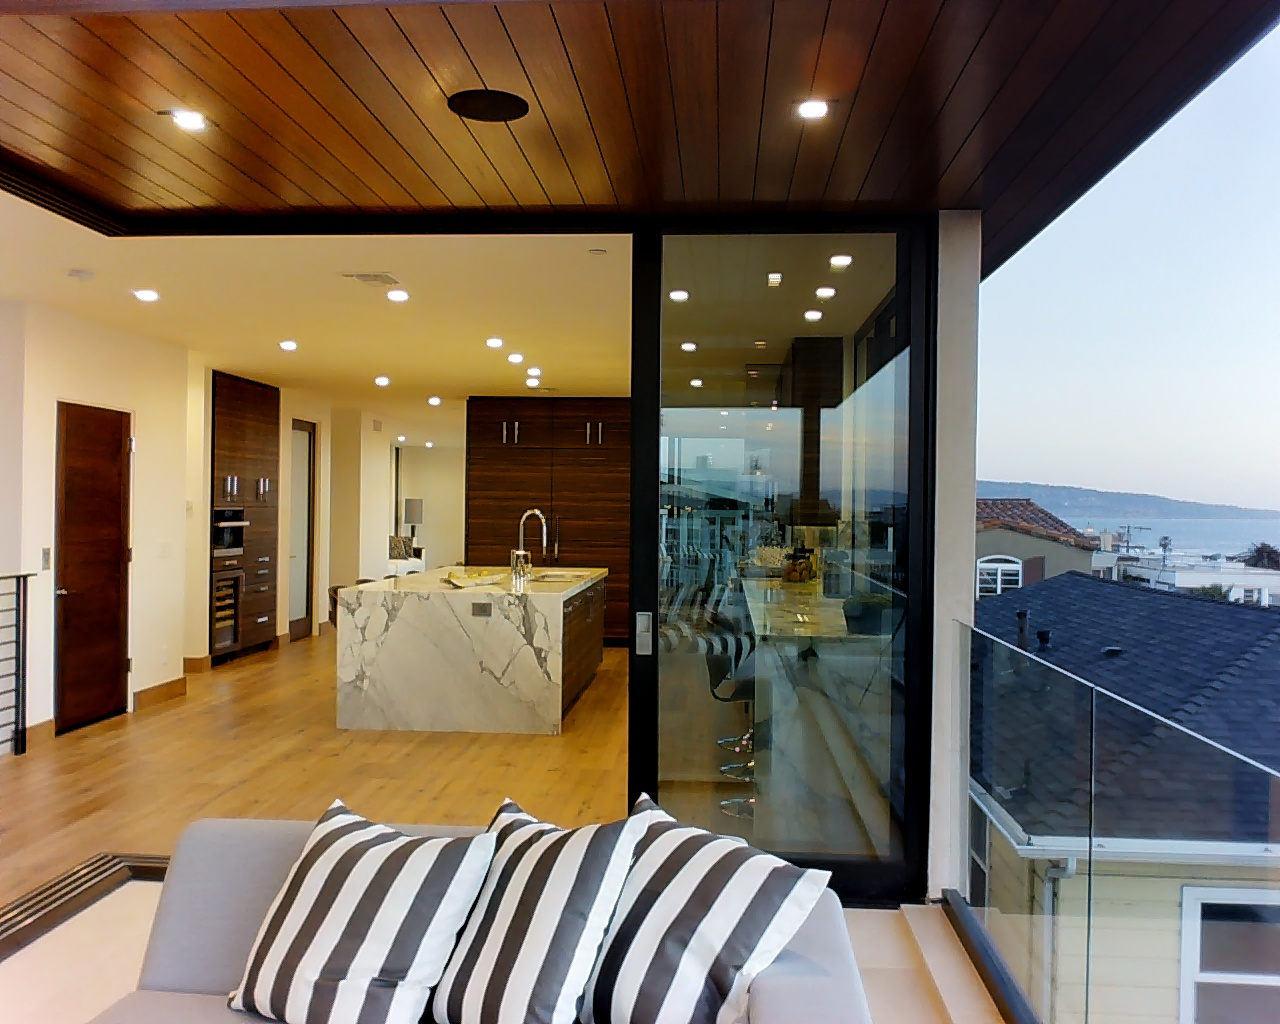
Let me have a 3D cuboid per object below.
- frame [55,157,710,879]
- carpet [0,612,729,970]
[{"bbox_3d":[-0.810,0.010,7.050,2.370,2.660,5.980,1,0,5],"label":"frame"},{"bbox_3d":[-1.220,1.420,8.200,3.719,0.500,8.160,1,0,5],"label":"carpet"}]
